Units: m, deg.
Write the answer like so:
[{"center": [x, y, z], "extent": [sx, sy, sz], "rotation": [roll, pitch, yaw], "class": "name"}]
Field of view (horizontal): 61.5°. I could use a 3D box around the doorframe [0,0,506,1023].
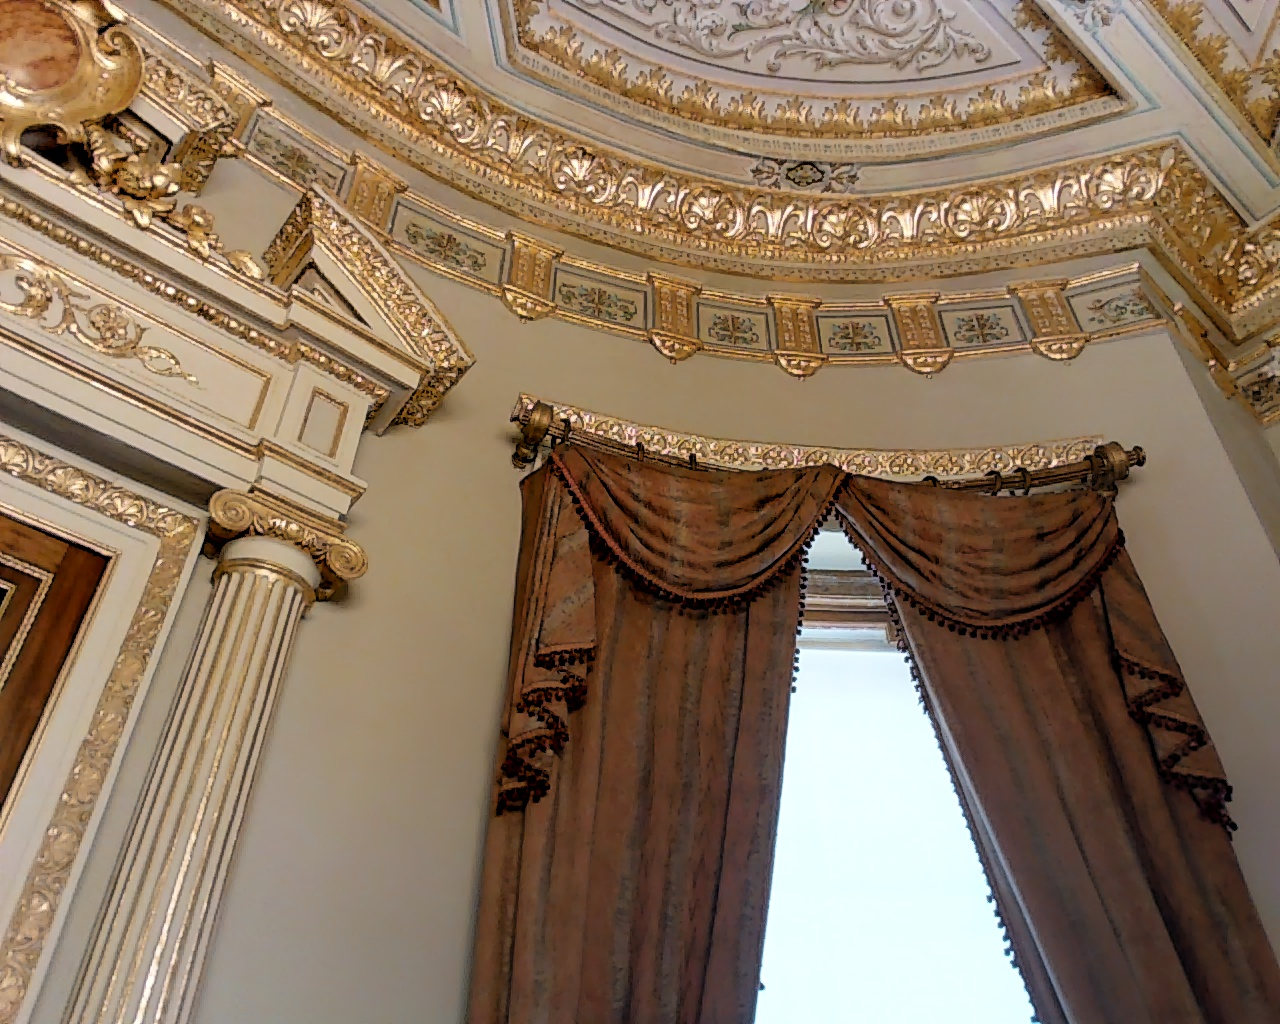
[{"center": [-1.699, 0.130, 1.630], "extent": [2.699, 4.262, 0.570], "rotation": [30, -49, -28], "class": "doorframe"}]
